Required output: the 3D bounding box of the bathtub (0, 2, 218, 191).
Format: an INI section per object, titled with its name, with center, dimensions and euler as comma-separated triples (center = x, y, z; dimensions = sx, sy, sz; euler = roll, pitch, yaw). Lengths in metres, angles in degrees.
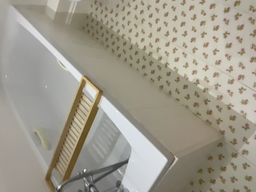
[bathtub]
center = -0.350, 0.020, 1.510
dimensions = 1.640, 0.550, 0.680
euler = 41, 116, 33
